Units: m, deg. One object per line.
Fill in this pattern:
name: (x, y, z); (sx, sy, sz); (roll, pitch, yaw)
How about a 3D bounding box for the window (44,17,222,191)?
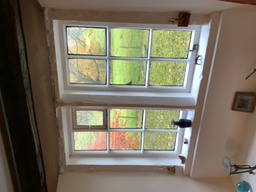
window: (0.010, 0.110, 1.330); (0.140, 0.910, 1.090); (-102, 14, -69)
